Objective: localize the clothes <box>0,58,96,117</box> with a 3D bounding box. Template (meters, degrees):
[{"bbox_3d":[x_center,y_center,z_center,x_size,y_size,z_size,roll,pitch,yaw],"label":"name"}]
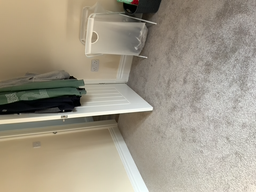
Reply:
[{"bbox_3d":[-0.980,-0.120,1.950,0.700,1.190,0.270,-133,45,-54],"label":"clothes"}]
